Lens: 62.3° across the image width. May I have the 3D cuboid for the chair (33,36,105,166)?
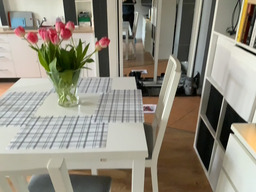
[{"bbox_3d":[-0.430,0.030,1.840,0.430,0.980,0.520,-1,25,-5],"label":"chair"}]

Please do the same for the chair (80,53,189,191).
[{"bbox_3d":[0.040,0.250,1.410,0.520,0.960,0.430,3,25,4],"label":"chair"}]
